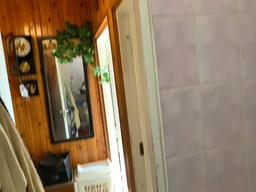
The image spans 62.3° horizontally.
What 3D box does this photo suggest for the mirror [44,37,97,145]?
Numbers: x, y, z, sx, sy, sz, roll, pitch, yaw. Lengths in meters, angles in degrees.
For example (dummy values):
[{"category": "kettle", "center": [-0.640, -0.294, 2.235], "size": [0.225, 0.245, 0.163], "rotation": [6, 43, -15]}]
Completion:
[{"category": "mirror", "center": [-0.670, -0.060, 2.520], "size": [0.450, 1.220, 0.080], "rotation": [-7, 6, -13]}]
